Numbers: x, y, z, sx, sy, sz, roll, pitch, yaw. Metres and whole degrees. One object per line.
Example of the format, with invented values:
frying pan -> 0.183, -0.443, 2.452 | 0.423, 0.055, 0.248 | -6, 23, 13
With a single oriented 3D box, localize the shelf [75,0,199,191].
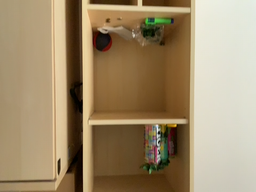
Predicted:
shelf -> 0.020, -0.540, 0.970 | 0.430, 2.010, 0.490 | 0, -179, -4
